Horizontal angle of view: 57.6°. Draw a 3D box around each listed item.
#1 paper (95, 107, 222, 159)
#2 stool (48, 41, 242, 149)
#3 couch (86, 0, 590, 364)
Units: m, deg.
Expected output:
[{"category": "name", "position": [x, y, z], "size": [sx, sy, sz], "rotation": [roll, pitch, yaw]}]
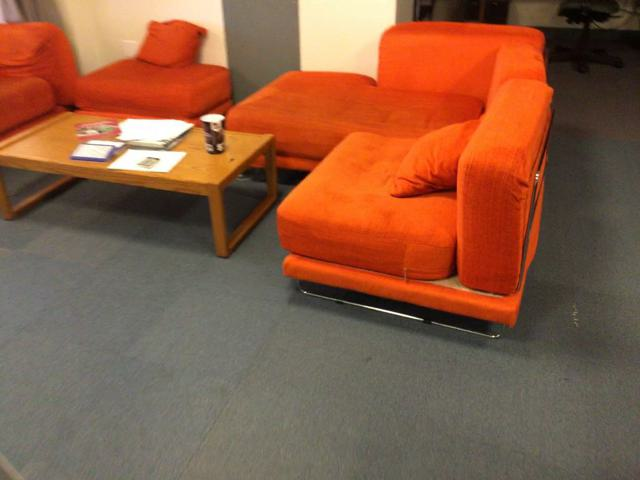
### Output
[{"category": "paper", "position": [-0.790, -0.540, 2.890], "size": [0.470, 0.060, 0.390], "rotation": [12, 32, 15]}, {"category": "stool", "position": [-1.100, -0.970, 3.790], "size": [0.970, 0.400, 0.660], "rotation": [12, 32, 14]}, {"category": "couch", "position": [0.260, -0.550, 2.760], "size": [1.580, 0.810, 1.960], "rotation": [12, 32, 14]}]
